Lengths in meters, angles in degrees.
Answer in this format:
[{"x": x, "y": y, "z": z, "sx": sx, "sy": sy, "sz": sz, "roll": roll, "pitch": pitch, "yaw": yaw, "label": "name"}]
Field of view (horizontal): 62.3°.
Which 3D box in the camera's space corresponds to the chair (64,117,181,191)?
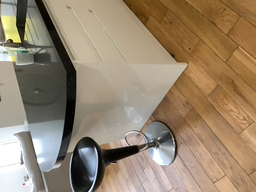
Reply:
[{"x": -0.030, "y": 0.450, "z": 1.610, "sx": 0.410, "sy": 0.770, "sz": 0.380, "roll": 16, "pitch": 107, "yaw": 52, "label": "chair"}]
